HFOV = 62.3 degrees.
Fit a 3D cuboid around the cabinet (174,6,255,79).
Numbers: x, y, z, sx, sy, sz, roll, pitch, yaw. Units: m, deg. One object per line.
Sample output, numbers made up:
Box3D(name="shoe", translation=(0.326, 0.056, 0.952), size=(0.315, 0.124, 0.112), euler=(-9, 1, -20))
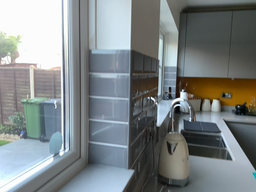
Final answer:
Box3D(name="cabinet", translation=(1.310, -0.750, 3.130), size=(1.180, 0.950, 0.340), euler=(3, 7, 15))
